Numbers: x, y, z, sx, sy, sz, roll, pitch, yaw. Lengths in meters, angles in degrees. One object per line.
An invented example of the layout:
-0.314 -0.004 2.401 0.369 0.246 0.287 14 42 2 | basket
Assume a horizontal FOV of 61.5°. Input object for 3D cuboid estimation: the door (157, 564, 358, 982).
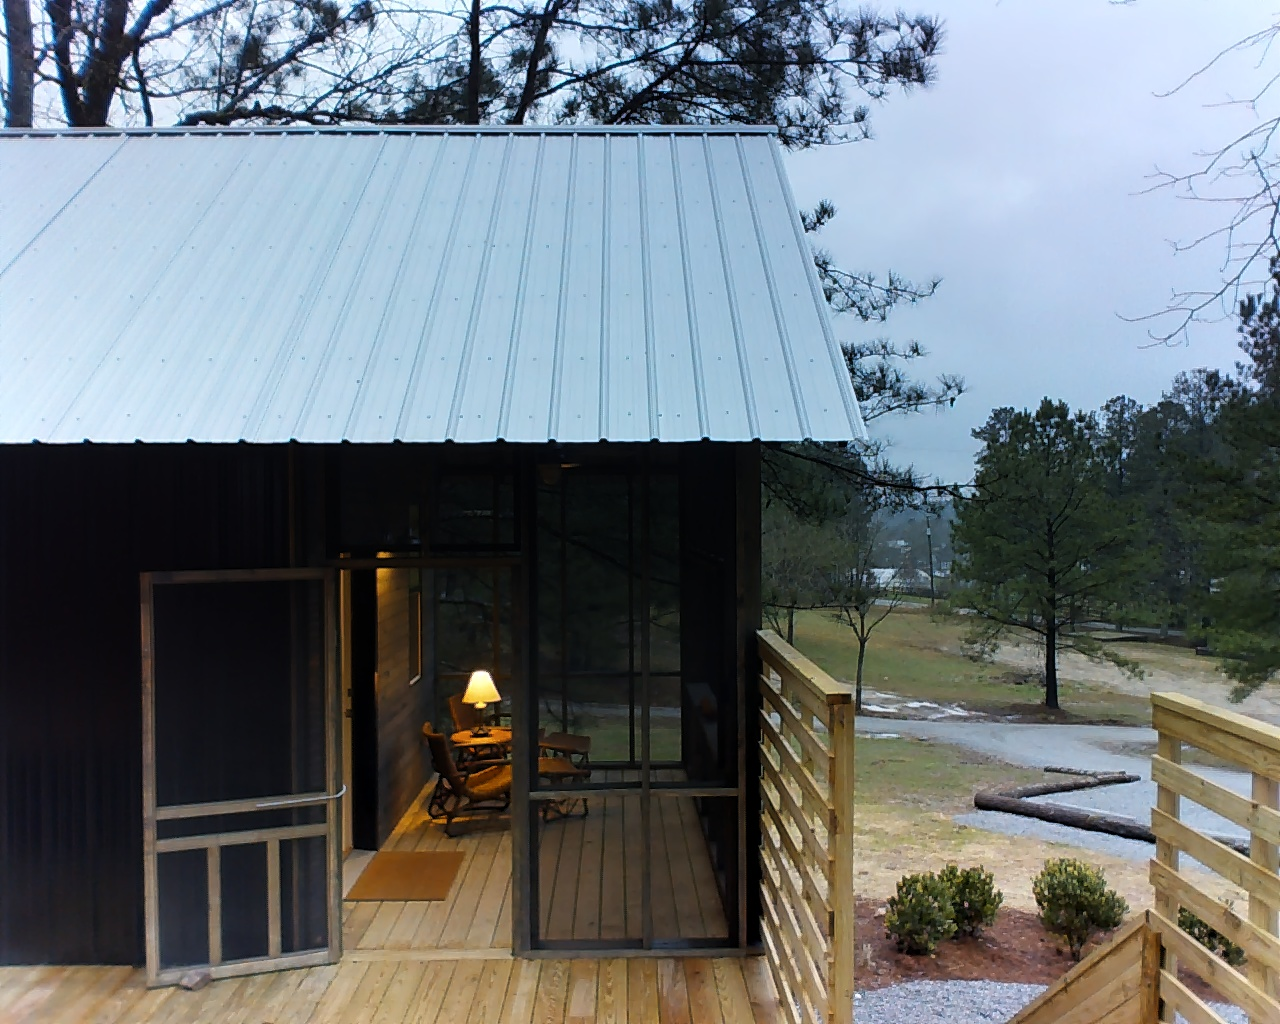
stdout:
-1.930 1.290 5.470 0.940 2.030 0.090 -1 1 -18 | door
